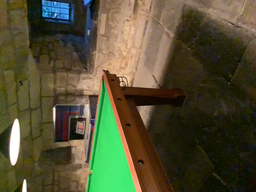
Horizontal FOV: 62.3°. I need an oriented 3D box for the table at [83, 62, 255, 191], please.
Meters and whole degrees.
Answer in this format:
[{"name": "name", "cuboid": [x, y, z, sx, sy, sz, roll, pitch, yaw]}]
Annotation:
[{"name": "table", "cuboid": [0.050, 1.490, 2.430, 1.700, 0.910, 3.240, -113, 29, -51]}]
